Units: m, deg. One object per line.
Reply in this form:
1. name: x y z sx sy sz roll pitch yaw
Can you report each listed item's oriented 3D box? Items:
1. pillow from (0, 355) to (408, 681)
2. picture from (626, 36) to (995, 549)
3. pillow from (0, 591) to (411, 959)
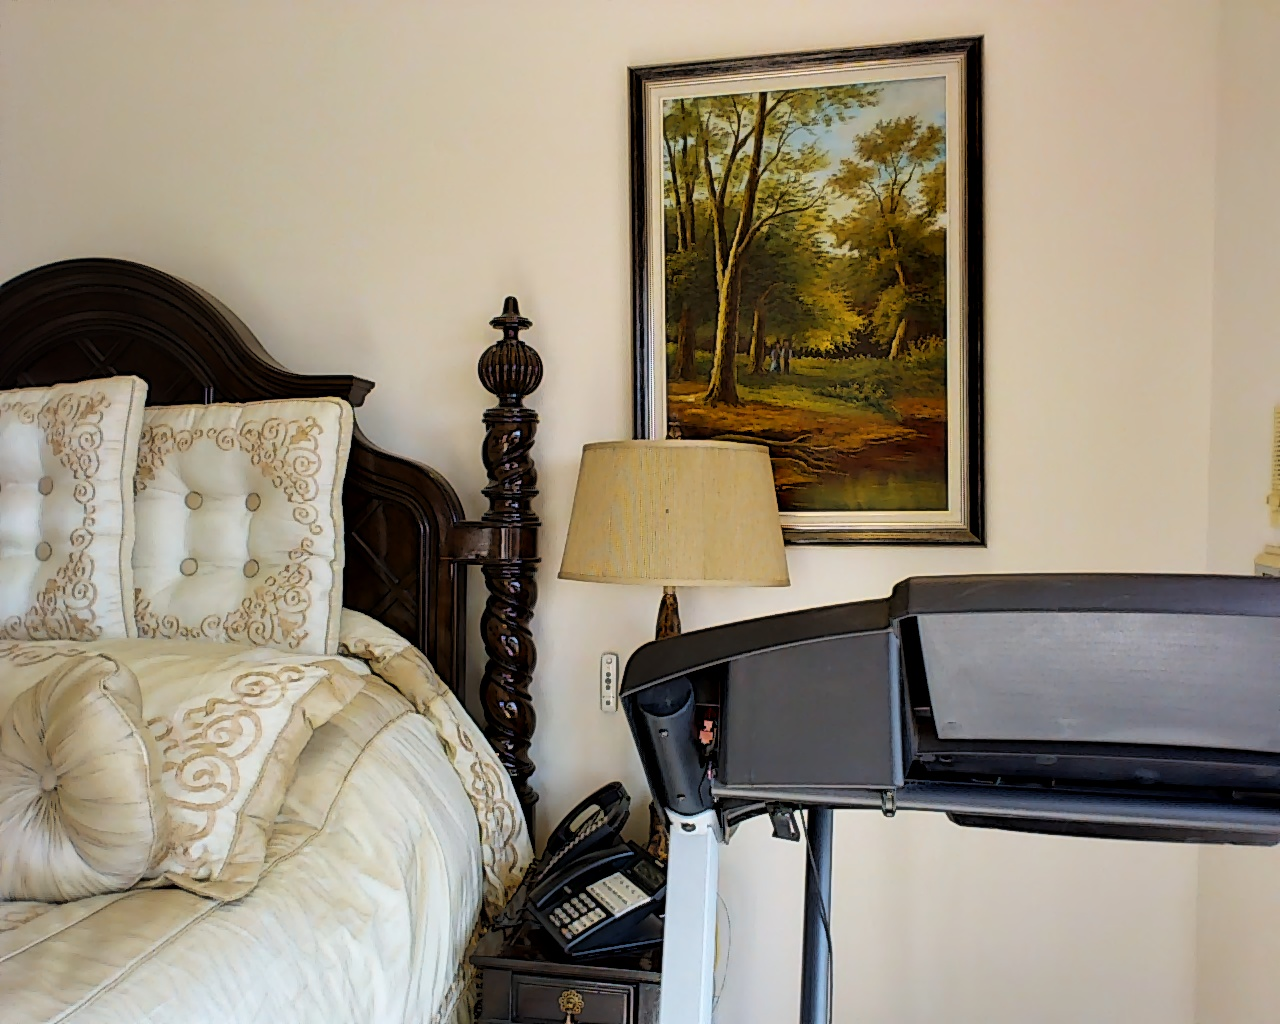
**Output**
1. pillow: -1.270 0.000 2.420 1.380 0.620 0.480 1 1 13
2. picture: 0.350 -0.450 2.290 0.760 1.040 0.060 1 1 13
3. pillow: -1.410 0.340 1.840 1.830 0.340 0.780 1 1 13
